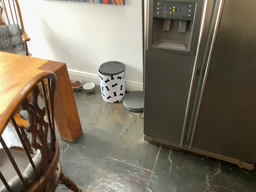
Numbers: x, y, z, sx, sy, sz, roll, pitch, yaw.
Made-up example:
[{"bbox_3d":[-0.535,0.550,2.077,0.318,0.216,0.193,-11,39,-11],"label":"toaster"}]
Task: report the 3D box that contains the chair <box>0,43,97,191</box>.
[{"bbox_3d":[-0.650,0.360,1.140,0.650,1.130,0.550,10,39,16],"label":"chair"}]
